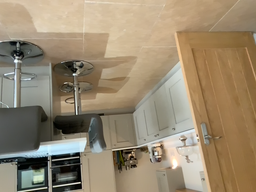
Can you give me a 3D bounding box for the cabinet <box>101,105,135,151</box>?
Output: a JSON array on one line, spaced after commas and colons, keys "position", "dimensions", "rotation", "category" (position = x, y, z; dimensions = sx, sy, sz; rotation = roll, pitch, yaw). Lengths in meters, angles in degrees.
[{"position": [-0.250, 0.730, 4.780], "dimensions": [0.550, 0.890, 0.580], "rotation": [-3, 164, -15], "category": "cabinet"}]
